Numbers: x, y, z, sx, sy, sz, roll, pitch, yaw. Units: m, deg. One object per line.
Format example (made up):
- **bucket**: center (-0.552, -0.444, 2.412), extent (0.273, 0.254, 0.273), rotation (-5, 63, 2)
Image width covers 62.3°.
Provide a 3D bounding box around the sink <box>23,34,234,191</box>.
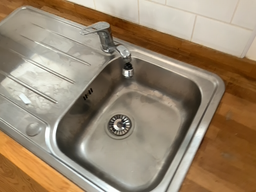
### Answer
- **sink**: center (0.030, 0.090, 0.710), extent (0.420, 0.190, 0.520), rotation (25, 63, 20)
